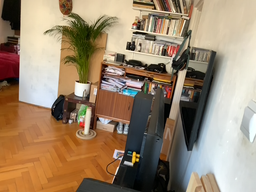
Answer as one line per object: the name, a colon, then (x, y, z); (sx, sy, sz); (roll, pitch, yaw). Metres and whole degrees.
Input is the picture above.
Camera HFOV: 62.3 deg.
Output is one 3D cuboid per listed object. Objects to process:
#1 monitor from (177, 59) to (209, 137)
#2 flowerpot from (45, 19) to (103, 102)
monitor: (0.350, -0.030, 1.220); (0.040, 0.330, 0.550); (14, 16, 8)
flowerpot: (-0.830, -0.550, 3.310); (0.650, 1.110, 0.450); (11, 15, 4)
